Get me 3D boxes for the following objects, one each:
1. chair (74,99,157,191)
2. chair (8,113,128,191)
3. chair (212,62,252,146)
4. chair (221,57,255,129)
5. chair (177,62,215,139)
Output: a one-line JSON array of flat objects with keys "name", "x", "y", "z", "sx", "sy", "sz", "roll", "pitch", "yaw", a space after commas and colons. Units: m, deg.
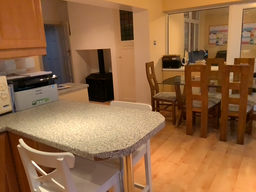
[{"name": "chair", "x": -0.070, "y": 0.530, "z": 1.720, "sx": 0.430, "sy": 0.890, "sz": 0.440, "roll": 6, "pitch": 17, "yaw": 34}, {"name": "chair", "x": -0.310, "y": 0.640, "z": 1.330, "sx": 0.420, "sy": 0.910, "sz": 0.490, "roll": 6, "pitch": 17, "yaw": 33}, {"name": "chair", "x": 1.440, "y": 0.070, "z": 2.940, "sx": 0.360, "sy": 1.030, "sz": 0.560, "roll": 6, "pitch": 17, "yaw": 33}, {"name": "chair", "x": 1.790, "y": -0.080, "z": 3.450, "sx": 0.370, "sy": 1.030, "sz": 0.560, "roll": 6, "pitch": 17, "yaw": 33}, {"name": "chair", "x": 1.030, "y": 0.030, "z": 3.210, "sx": 0.390, "sy": 1.030, "sz": 0.560, "roll": 6, "pitch": 17, "yaw": 33}]
